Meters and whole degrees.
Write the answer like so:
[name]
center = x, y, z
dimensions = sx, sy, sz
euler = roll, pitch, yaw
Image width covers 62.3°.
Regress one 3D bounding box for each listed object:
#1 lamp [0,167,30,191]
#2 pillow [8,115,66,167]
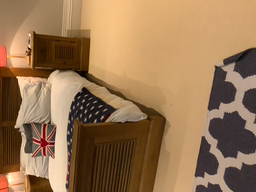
[lamp]
center = -1.790, 1.390, 3.220
dimensions = 0.510, 0.330, 0.390
euler = -1, -72, -29
[pillow]
center = -1.150, 0.560, 2.700
dimensions = 0.230, 0.570, 0.580
euler = -38, -56, -66
